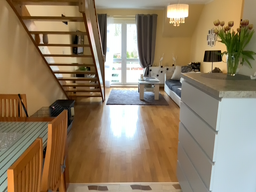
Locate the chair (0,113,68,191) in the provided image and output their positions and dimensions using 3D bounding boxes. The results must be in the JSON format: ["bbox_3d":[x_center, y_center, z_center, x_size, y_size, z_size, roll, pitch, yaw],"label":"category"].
[{"bbox_3d":[-0.750,0.630,1.570,0.470,0.910,0.440,0,14,-2],"label":"chair"}]

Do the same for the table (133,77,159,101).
[{"bbox_3d":[0.490,-0.240,6.210,0.640,0.490,1.110,0,14,-1],"label":"table"}]

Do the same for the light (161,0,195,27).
[{"bbox_3d":[0.960,-1.860,4.200,0.440,0.730,0.590,-1,-7,-7],"label":"light"}]
